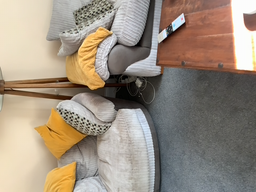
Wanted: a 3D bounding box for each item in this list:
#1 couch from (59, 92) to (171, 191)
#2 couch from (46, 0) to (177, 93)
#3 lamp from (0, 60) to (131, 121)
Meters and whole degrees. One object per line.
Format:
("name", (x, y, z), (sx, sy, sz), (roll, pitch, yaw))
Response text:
("couch", (-0.240, 0.660, 2.200), (1.250, 0.700, 1.340), (-4, 87, 62))
("couch", (-0.250, -0.640, 2.030), (1.090, 0.850, 1.050), (21, 109, 60))
("lamp", (-0.810, -0.070, 2.200), (0.420, 1.680, 0.520), (13, 101, 60))
